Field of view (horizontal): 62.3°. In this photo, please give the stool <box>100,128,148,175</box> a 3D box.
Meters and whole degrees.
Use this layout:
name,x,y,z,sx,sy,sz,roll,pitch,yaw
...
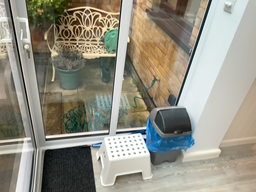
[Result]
name,x,y,z,sx,sy,sz,roll,pitch,yaw
stool,-0.050,0.470,1.820,0.340,0.250,0.270,-1,37,-14
